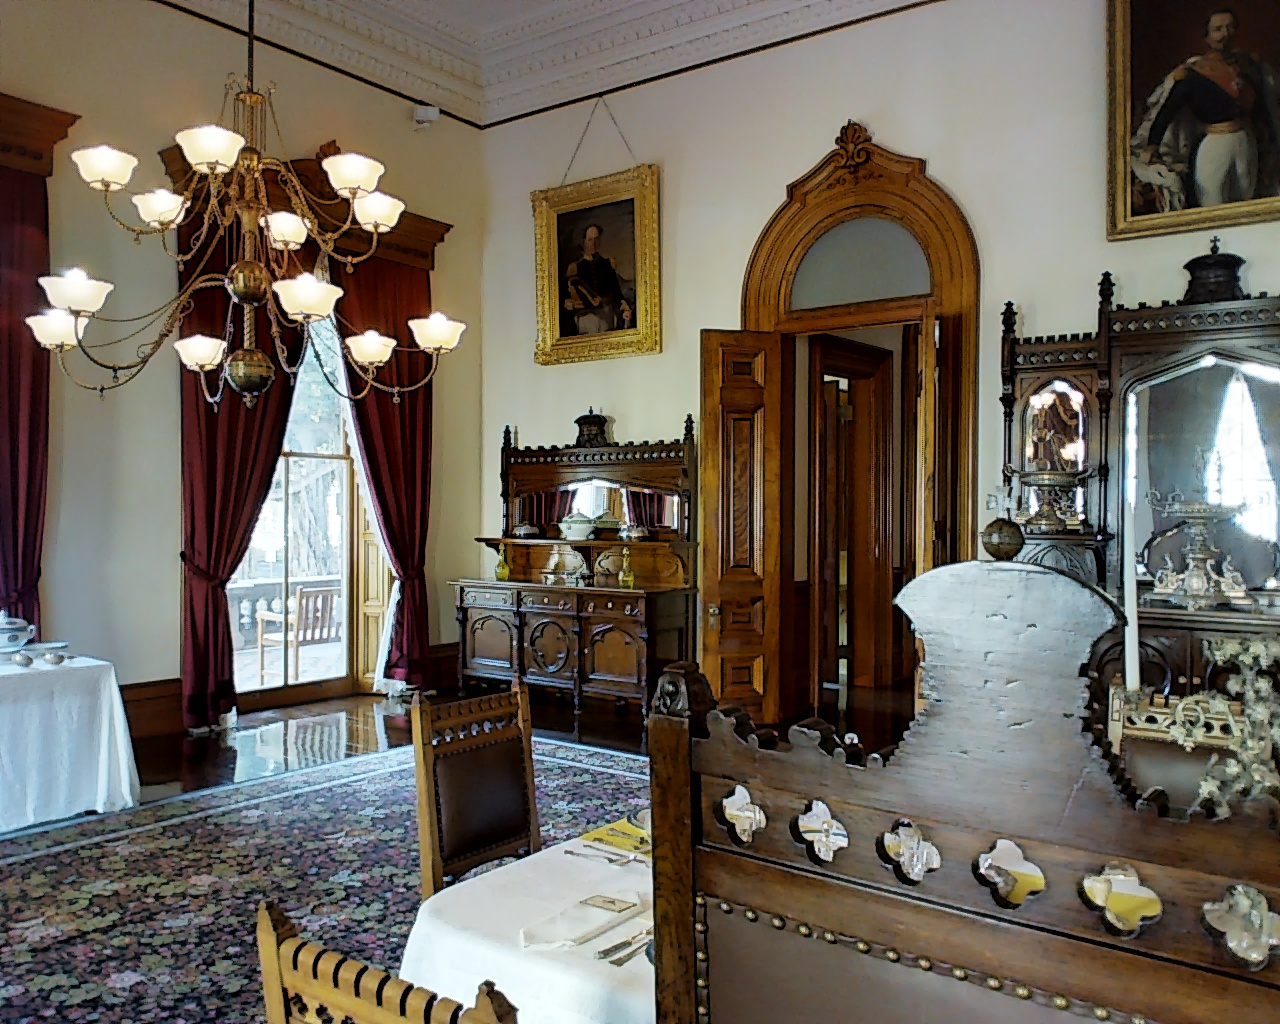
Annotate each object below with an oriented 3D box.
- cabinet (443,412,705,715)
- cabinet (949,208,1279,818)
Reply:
[{"bbox_3d":[-0.590,0.360,8.730,2.240,2.200,0.620,1,0,37],"label":"cabinet"},{"bbox_3d":[3.070,0.000,5.830,2.540,3.000,0.770,1,0,37],"label":"cabinet"}]
